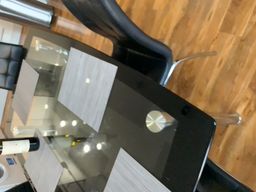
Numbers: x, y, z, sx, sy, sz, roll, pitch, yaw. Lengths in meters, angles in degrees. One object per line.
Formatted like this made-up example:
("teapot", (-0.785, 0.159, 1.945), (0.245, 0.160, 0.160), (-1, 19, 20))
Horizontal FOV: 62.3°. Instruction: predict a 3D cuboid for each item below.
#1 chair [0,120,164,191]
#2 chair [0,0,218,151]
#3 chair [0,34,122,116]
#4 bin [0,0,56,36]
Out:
("chair", (-0.320, 0.500, 1.320), (0.410, 0.960, 0.550), (43, 114, 36))
("chair", (-0.020, -0.150, 1.110), (0.390, 0.960, 0.630), (31, 107, 40))
("chair", (-0.650, -0.160, 1.690), (0.640, 0.960, 0.420), (26, 104, 41))
("bin", (-1.260, -1.010, 2.500), (0.320, 0.620, 0.360), (34, 109, 40))
